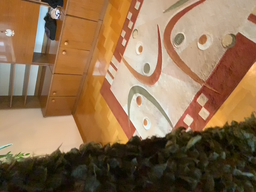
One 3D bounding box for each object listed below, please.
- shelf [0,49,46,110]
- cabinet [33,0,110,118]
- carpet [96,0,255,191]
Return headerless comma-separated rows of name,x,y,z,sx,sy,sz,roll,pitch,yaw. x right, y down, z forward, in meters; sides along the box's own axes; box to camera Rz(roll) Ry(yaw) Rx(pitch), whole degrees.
shelf,-1.790,-0.240,3.450,0.340,0.650,0.930,55,132,38
cabinet,-0.820,-1.030,3.130,0.580,0.570,3.180,55,132,38
carpet,0.330,-0.370,2.060,1.690,0.020,2.230,55,132,38
